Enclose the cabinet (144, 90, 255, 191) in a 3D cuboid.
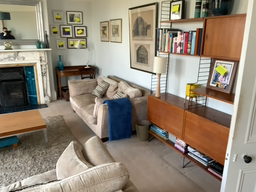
[{"bbox_3d":[0.840,0.530,2.630,0.370,0.790,1.770,-8,19,-27],"label":"cabinet"}]
